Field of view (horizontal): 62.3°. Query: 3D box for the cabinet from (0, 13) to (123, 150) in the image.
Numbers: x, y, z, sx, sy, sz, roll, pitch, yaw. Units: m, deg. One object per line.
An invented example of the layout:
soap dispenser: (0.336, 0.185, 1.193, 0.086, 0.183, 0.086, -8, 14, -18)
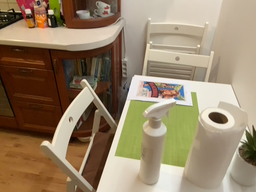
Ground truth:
cabinet: (-0.460, -0.130, 1.700, 0.730, 0.850, 0.580, 7, 35, 7)
